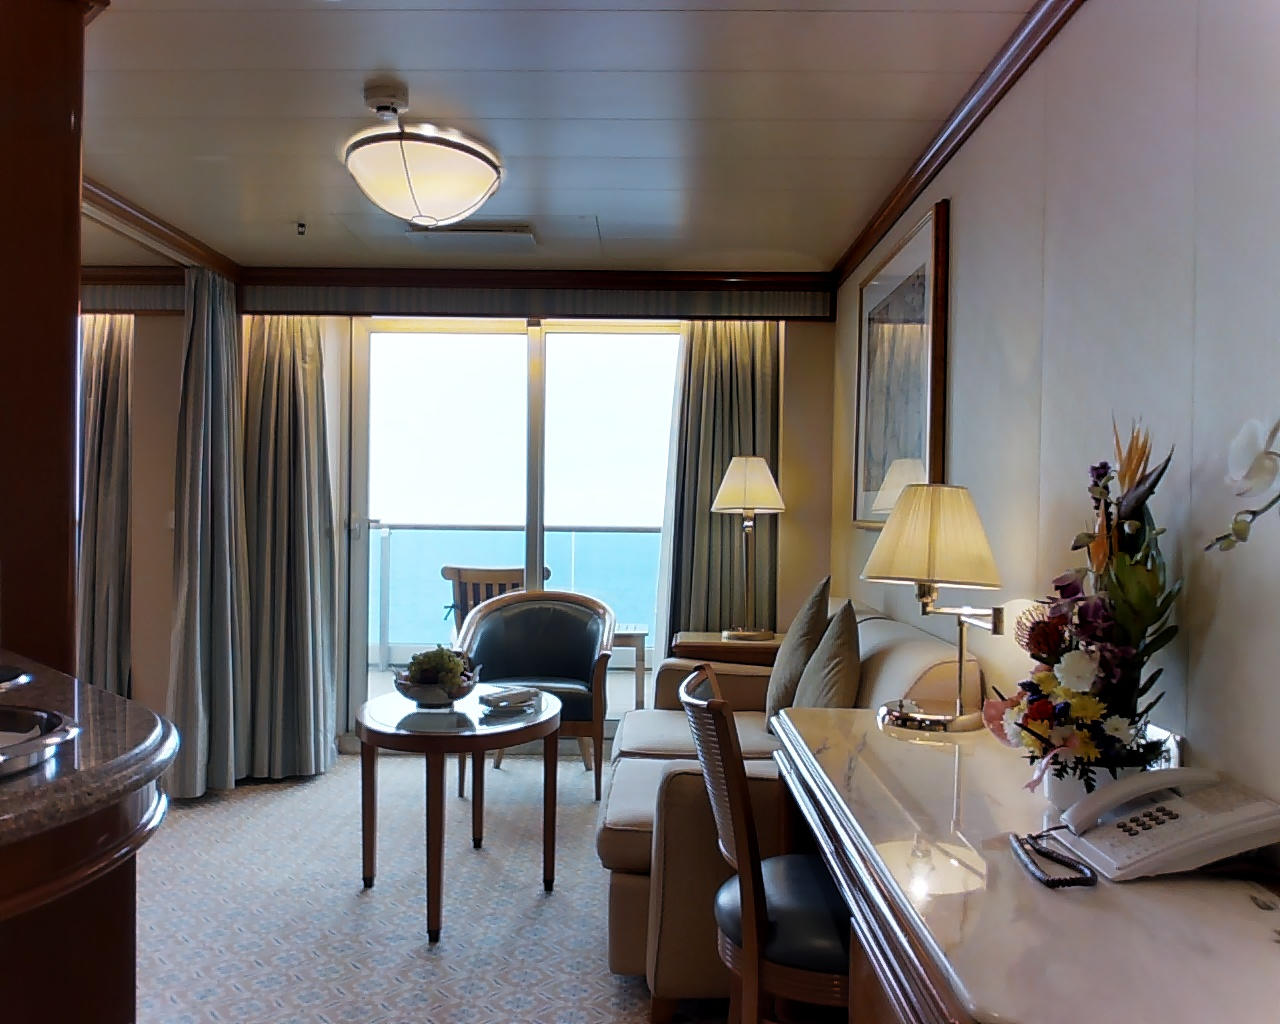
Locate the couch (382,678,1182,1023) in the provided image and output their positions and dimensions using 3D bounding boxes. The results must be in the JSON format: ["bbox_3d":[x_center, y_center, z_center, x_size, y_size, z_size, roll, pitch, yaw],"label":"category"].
[{"bbox_3d":[0.150,0.720,1.510,0.850,0.840,0.710,1,1,1],"label":"couch"}]
